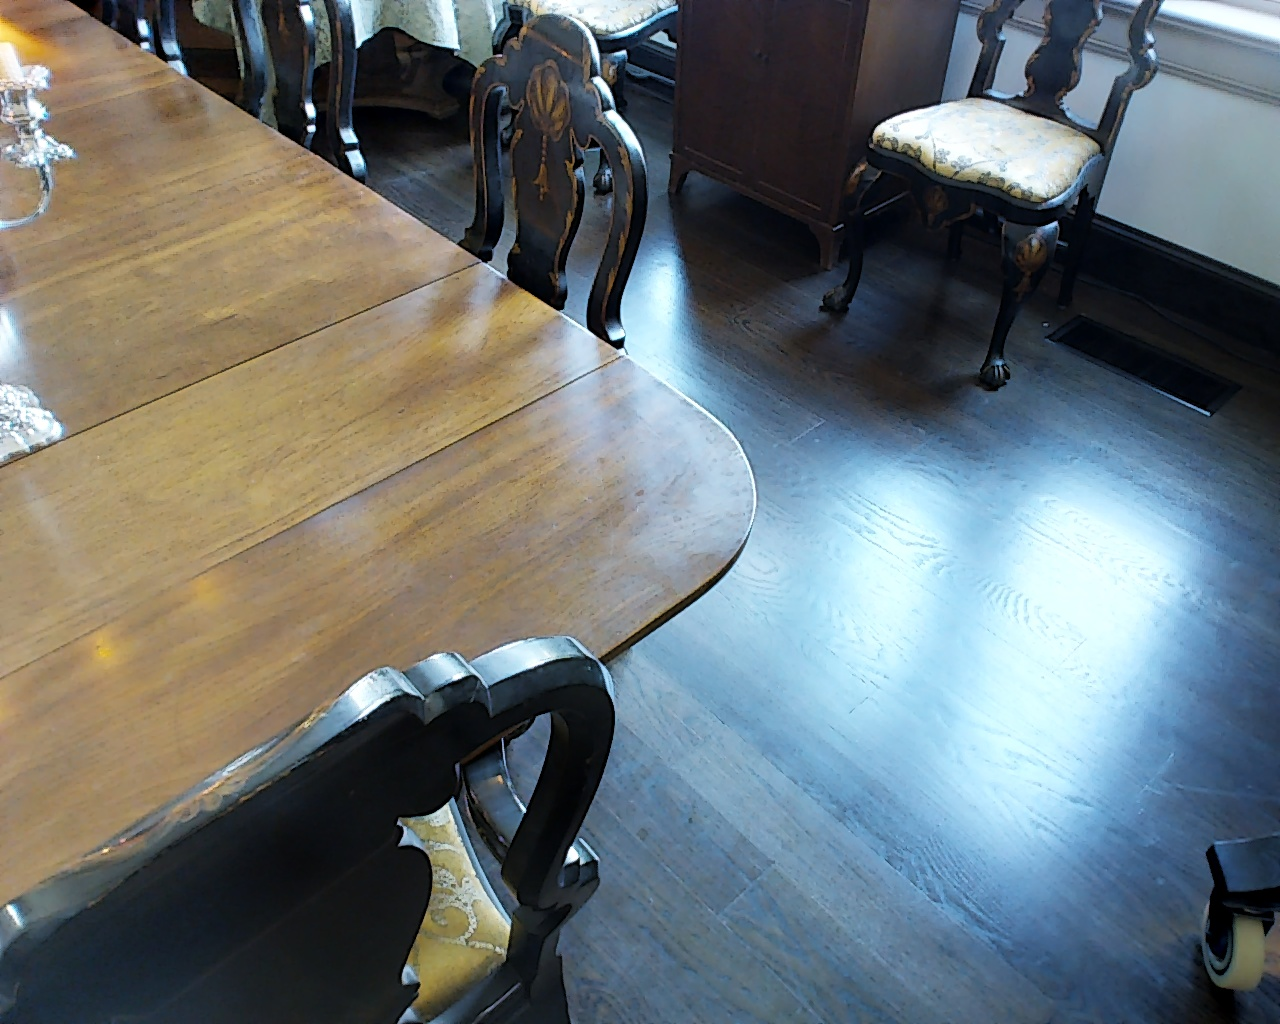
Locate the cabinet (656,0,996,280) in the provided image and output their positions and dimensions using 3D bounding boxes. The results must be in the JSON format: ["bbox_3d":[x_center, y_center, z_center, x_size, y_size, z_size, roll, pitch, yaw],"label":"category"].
[{"bbox_3d":[0.480,-1.260,2.920,0.520,0.910,0.710,-32,52,-30],"label":"cabinet"}]

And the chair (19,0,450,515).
[{"bbox_3d":[-0.750,-0.600,2.070,0.420,1.040,0.510,-32,52,-30],"label":"chair"}]

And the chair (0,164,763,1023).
[{"bbox_3d":[-0.300,0.400,0.920,0.550,1.130,0.470,-32,52,-30],"label":"chair"}]

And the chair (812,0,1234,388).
[{"bbox_3d":[0.860,-0.930,2.460,0.600,0.990,0.560,-32,52,-30],"label":"chair"}]
